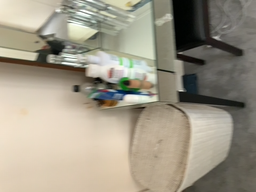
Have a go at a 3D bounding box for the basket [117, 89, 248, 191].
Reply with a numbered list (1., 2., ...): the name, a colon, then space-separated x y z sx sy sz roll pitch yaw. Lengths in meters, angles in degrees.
1. basket: 0.320 0.290 1.250 0.360 0.570 0.560 24 106 49

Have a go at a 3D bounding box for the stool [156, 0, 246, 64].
1. stool: 0.430 -0.540 1.250 0.250 0.510 0.590 -8 81 50
